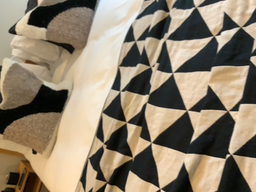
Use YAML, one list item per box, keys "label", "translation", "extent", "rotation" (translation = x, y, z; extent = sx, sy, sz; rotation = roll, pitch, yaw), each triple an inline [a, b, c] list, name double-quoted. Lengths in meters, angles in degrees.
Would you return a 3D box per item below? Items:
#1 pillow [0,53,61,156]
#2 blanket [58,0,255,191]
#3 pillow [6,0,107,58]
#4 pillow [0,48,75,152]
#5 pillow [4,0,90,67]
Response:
- label: "pillow"
  translation: [-0.840, 0.080, 1.650]
  extent: [0.230, 0.400, 0.680]
  rotation: [-10, 65, 51]
- label: "blanket"
  translation: [0.180, -0.270, 0.640]
  extent: [0.810, 0.070, 1.480]
  rotation: [5, 76, 54]
- label: "pillow"
  translation: [-0.460, -0.570, 1.460]
  extent: [0.350, 0.420, 0.460]
  rotation: [7, 74, 29]
- label: "pillow"
  translation: [-0.610, 0.050, 1.260]
  extent: [0.210, 0.450, 0.470]
  rotation: [-1, 71, 35]
- label: "pillow"
  translation: [-0.640, -0.640, 1.750]
  extent: [0.250, 0.400, 0.680]
  rotation: [9, 77, 43]
